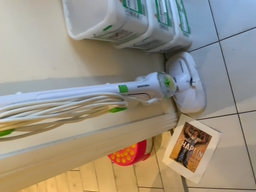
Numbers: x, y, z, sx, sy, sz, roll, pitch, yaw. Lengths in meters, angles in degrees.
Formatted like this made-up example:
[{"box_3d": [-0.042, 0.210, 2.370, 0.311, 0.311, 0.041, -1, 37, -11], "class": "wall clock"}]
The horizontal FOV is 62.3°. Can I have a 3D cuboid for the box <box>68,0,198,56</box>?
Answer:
[{"box_3d": [0.060, -0.340, 0.810, 0.190, 0.560, 0.280, -8, 89, 37], "class": "box"}]
